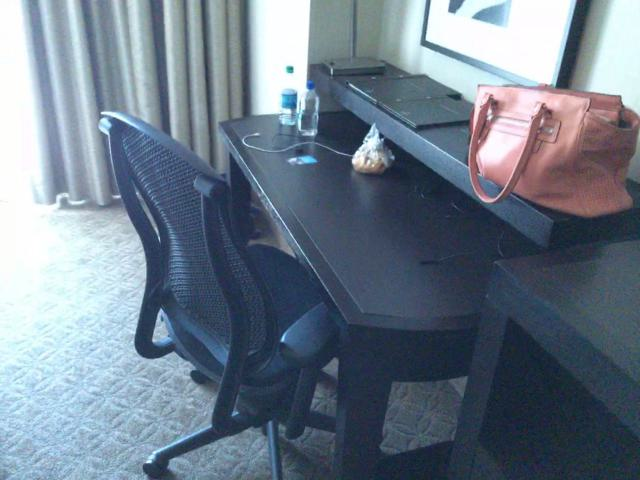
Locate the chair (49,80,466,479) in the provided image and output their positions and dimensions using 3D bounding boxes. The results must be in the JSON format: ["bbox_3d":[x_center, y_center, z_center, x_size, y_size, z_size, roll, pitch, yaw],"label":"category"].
[{"bbox_3d":[-0.180,0.170,1.520,0.700,1.030,0.650,-15,30,-38],"label":"chair"}]

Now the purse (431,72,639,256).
[{"bbox_3d":[0.470,-0.180,1.210,0.280,0.270,0.390,-4,24,-18],"label":"purse"}]

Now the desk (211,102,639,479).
[{"bbox_3d":[0.110,0.110,1.840,0.620,0.960,1.450,-4,18,-21],"label":"desk"}]
